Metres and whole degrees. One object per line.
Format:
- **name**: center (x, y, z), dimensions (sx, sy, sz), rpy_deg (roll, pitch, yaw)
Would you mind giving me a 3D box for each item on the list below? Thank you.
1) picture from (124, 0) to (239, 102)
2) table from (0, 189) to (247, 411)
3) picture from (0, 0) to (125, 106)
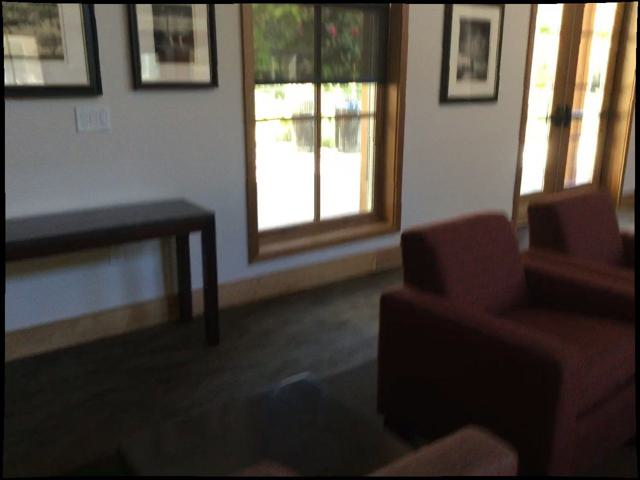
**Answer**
- **picture**: center (-0.719, -1.041, 3.070), dimensions (0.570, 0.571, 0.080), rpy_deg (-12, 21, -33)
- **table**: center (-1.079, 0.230, 2.830), dimensions (1.319, 0.711, 0.510), rpy_deg (-12, 21, -33)
- **picture**: center (-1.409, -0.921, 2.580), dimensions (0.979, 0.621, 0.070), rpy_deg (-12, 21, -33)
